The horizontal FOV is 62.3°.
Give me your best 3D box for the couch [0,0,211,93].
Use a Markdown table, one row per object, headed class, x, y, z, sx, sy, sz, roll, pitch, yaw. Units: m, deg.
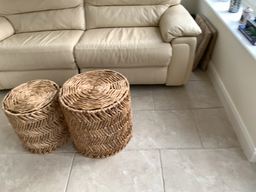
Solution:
| class | x | y | z | sx | sy | sz | roll | pitch | yaw |
| --- | --- | --- | --- | --- | --- | --- | --- | --- | --- |
| couch | -0.420 | -0.730 | 2.120 | 2.060 | 0.950 | 1.030 | 0 | 40 | 4 |
